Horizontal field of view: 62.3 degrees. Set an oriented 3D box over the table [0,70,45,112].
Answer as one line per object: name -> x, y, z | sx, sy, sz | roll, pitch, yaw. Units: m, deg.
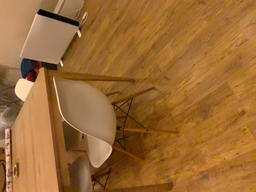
table -> -1.850, -0.070, 3.510 | 0.440, 0.730, 0.480 | -44, 54, 39
